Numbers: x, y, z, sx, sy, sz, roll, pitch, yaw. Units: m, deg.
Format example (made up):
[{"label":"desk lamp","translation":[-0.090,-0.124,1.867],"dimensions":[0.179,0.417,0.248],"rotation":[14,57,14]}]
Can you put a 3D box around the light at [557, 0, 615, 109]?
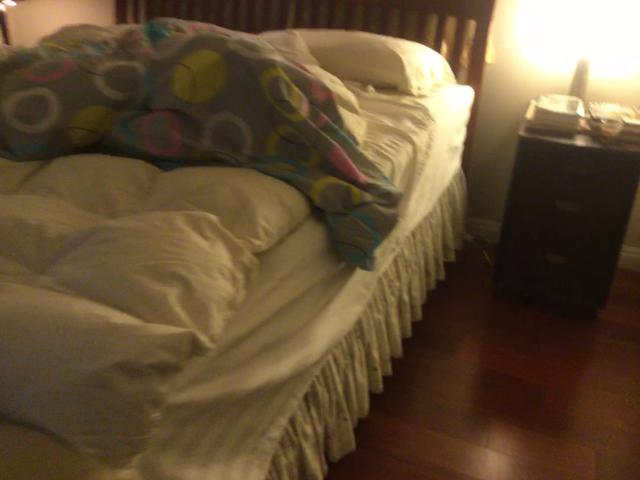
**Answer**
[{"label":"light","translation":[0.980,-0.730,2.130],"dimensions":[0.100,0.440,0.220],"rotation":[12,26,17]}]

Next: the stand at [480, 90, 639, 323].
[{"label":"stand","translation":[0.920,-0.140,2.180],"dimensions":[0.450,0.730,0.360],"rotation":[12,26,17]}]

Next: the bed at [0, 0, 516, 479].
[{"label":"bed","translation":[-0.650,-0.220,1.830],"dimensions":[2.110,1.210,2.340],"rotation":[12,26,17]}]
